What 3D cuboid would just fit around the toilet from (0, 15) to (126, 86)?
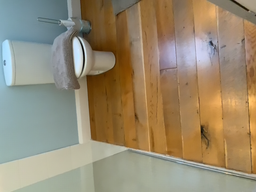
[{"bbox_3d":[-0.540,-0.320,1.800,0.640,0.800,0.390,-2,93,45],"label":"toilet"}]
